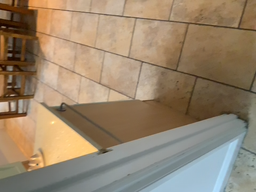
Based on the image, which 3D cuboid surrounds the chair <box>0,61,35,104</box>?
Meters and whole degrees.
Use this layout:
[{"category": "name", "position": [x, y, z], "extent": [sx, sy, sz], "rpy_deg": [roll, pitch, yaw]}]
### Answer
[{"category": "chair", "position": [-1.890, -0.200, 2.920], "extent": [0.460, 0.980, 0.480], "rpy_deg": [27, 111, 39]}]

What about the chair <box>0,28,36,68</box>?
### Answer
[{"category": "chair", "position": [-1.840, -0.680, 2.840], "extent": [0.460, 0.980, 0.450], "rpy_deg": [25, 110, 39]}]
